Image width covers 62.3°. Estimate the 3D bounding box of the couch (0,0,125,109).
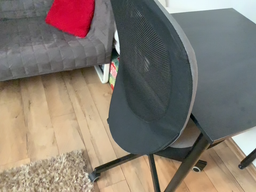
[{"bbox_3d":[-0.780,-0.460,1.480,1.240,0.690,0.770,-12,50,-21],"label":"couch"}]
